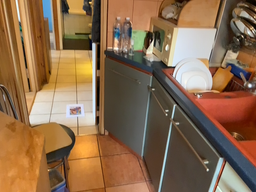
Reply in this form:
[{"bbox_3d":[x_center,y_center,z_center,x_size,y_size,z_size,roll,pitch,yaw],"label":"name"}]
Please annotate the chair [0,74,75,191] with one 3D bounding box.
[{"bbox_3d":[-0.610,0.320,1.440,0.450,0.800,0.480,-2,29,-15],"label":"chair"}]
